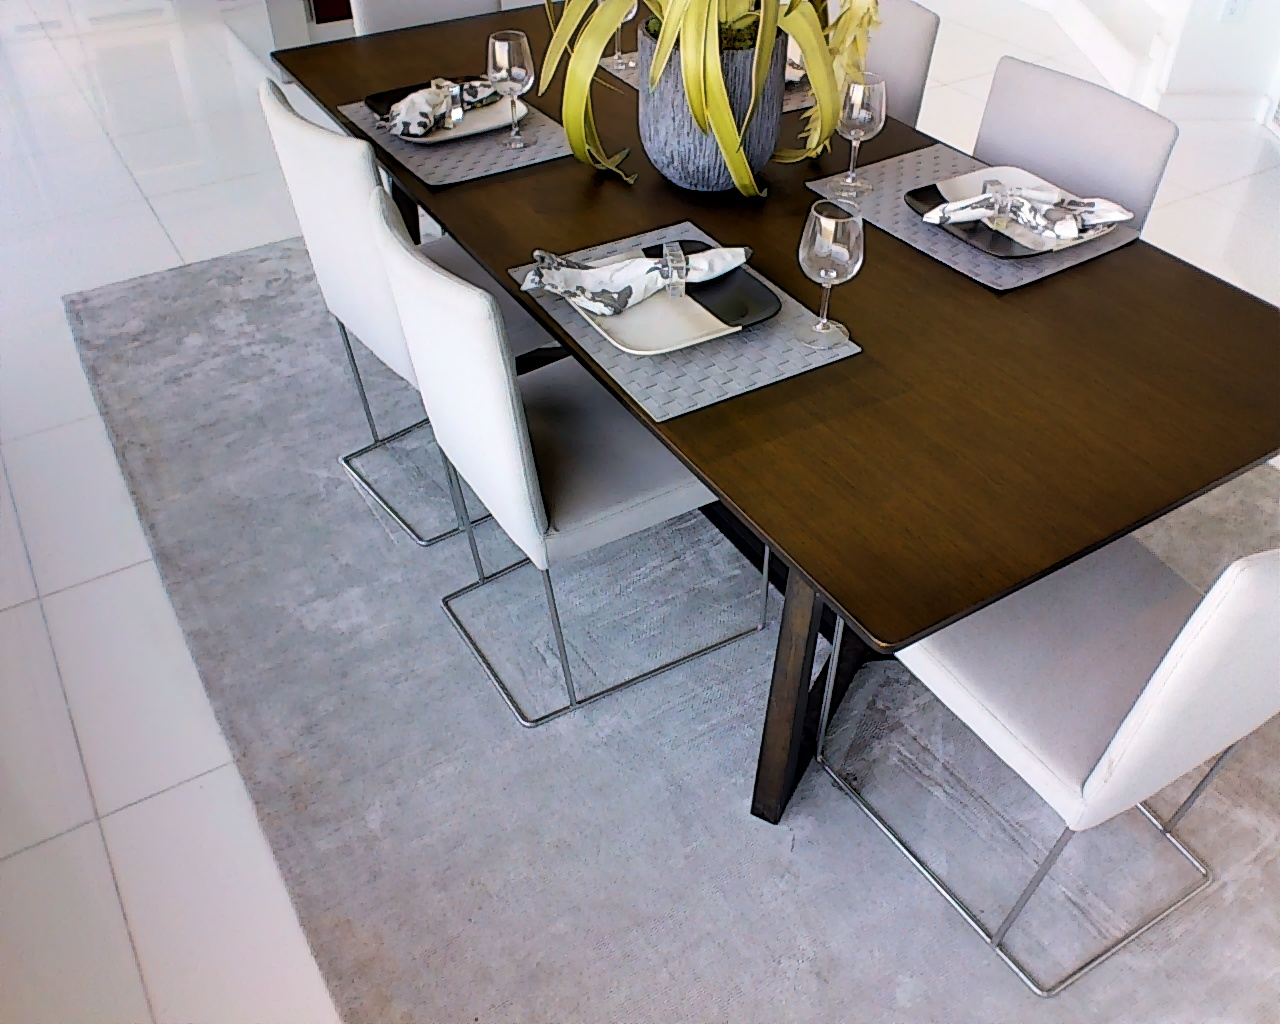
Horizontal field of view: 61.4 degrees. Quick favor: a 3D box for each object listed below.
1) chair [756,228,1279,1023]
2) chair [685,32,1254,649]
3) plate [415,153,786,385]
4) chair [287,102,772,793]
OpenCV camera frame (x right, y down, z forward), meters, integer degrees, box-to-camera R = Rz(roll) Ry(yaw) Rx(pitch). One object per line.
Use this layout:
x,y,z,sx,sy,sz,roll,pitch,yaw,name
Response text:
0.620,0.190,1.500,0.640,0.860,0.580,-21,45,-22,chair
0.550,-0.350,2.130,0.680,0.880,0.630,-18,44,-20,chair
-0.080,-0.410,1.710,0.350,0.060,0.550,-22,45,-24,plate
-0.170,-0.100,1.820,0.460,0.920,0.550,-26,47,-27,chair
